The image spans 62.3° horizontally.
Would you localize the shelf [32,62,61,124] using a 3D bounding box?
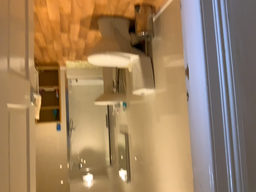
[{"bbox_3d":[-1.440,-0.050,3.780,0.430,1.060,0.310,-2,175,-17],"label":"shelf"}]
